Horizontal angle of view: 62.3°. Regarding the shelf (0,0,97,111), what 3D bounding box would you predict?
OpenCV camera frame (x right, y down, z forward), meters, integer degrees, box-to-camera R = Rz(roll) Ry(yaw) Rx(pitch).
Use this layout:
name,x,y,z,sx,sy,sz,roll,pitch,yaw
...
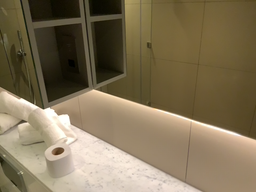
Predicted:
name,x,y,z,sx,sy,sz,roll,pitch,yaw
shelf,-0.330,-0.510,0.690,0.280,1.080,0.230,16,30,35
